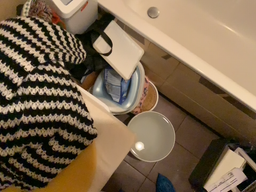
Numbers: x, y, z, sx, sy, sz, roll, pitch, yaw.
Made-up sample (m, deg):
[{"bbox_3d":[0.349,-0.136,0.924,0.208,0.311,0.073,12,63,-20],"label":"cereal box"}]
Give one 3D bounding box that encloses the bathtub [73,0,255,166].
[{"bbox_3d":[0.610,-0.260,1.250,1.670,0.610,0.770,36,77,4],"label":"bathtub"}]
